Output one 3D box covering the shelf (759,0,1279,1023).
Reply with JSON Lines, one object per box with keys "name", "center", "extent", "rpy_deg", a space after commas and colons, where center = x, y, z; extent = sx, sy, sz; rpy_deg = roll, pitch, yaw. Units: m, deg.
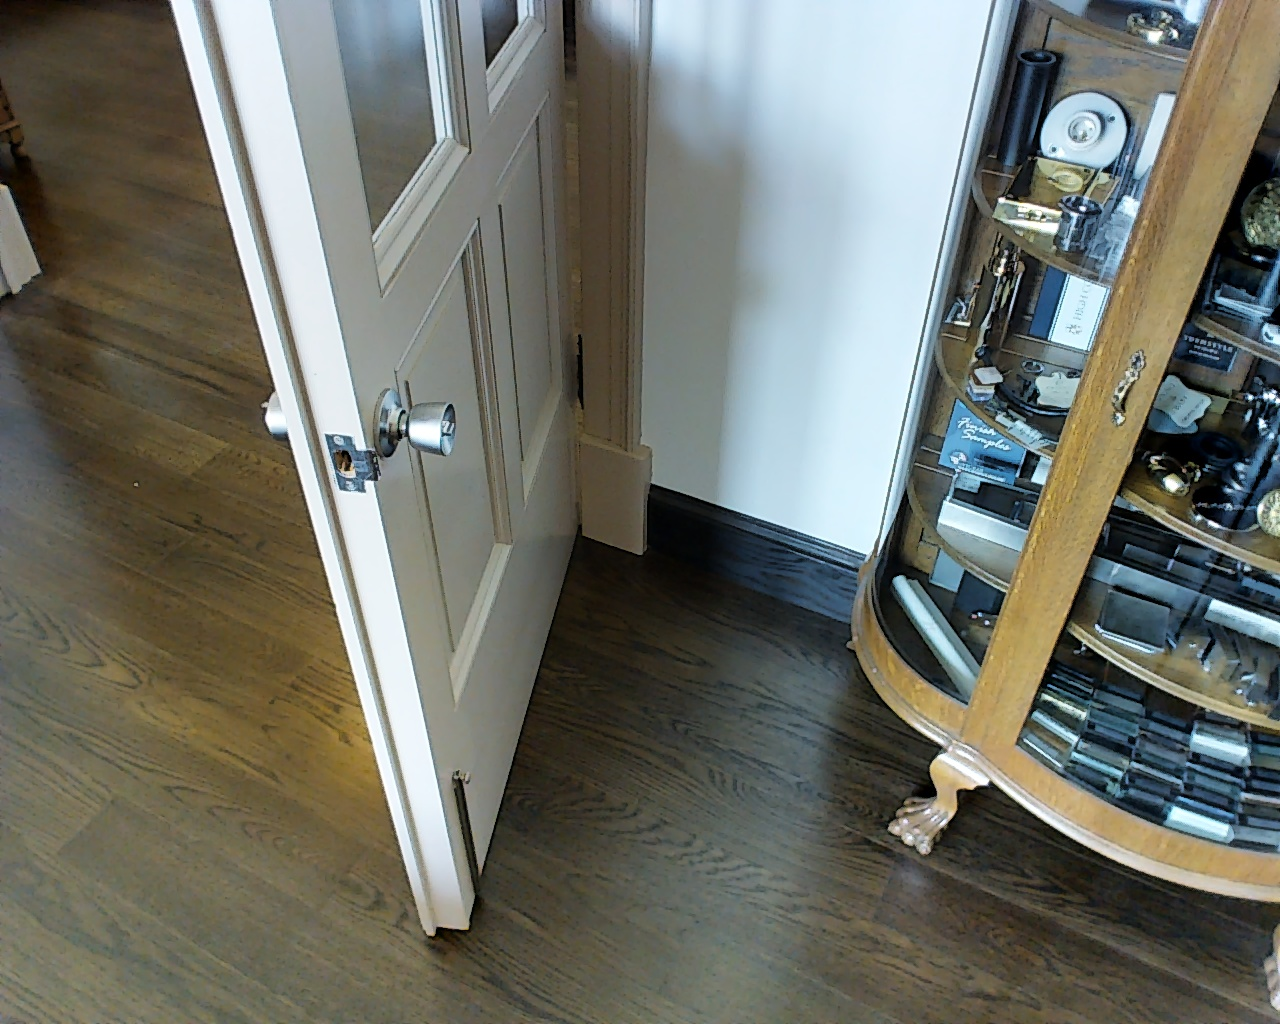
{"name": "shelf", "center": [0.770, -0.060, 1.200], "extent": [1.040, 1.560, 0.450], "rpy_deg": [19, 45, 19]}
